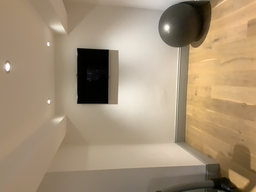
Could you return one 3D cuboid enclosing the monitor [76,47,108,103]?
[{"bbox_3d":[-0.590,-0.330,3.460,0.040,0.510,0.900,-167,78,-79],"label":"monitor"}]
